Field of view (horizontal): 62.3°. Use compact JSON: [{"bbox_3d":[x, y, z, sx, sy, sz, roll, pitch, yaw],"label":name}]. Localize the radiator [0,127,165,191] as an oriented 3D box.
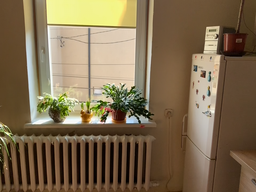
[{"bbox_3d":[-0.460,0.690,2.180,1.610,0.690,0.200,1,11,-4],"label":"radiator"}]
